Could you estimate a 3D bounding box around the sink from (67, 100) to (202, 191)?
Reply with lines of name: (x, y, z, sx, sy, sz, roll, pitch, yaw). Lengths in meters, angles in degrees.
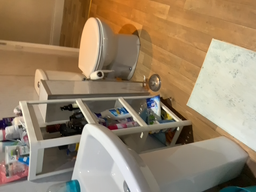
sink: (-0.040, 0.340, 0.820, 0.560, 0.170, 0.420, 43, 126, 46)
